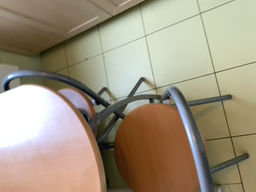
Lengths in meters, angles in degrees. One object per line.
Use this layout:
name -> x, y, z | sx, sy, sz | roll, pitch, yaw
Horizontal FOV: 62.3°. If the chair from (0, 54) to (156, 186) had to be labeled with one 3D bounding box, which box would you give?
chair -> -0.210, 0.110, 1.060 | 0.370, 0.740, 0.400 | -15, 82, 28
